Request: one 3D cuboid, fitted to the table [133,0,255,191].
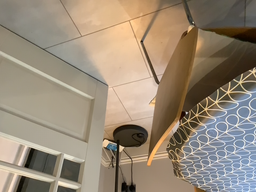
[{"bbox_3d":[0.800,-0.010,1.130,1.210,0.720,1.160,-14,136,15],"label":"table"}]
